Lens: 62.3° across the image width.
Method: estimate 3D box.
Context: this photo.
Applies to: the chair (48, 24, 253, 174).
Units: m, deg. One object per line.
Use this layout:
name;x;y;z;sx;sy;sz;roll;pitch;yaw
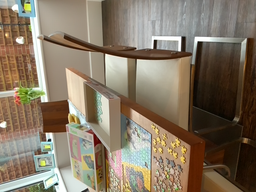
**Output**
chair;0.130;-0.090;1.180;0.450;0.960;0.580;31;125;56
